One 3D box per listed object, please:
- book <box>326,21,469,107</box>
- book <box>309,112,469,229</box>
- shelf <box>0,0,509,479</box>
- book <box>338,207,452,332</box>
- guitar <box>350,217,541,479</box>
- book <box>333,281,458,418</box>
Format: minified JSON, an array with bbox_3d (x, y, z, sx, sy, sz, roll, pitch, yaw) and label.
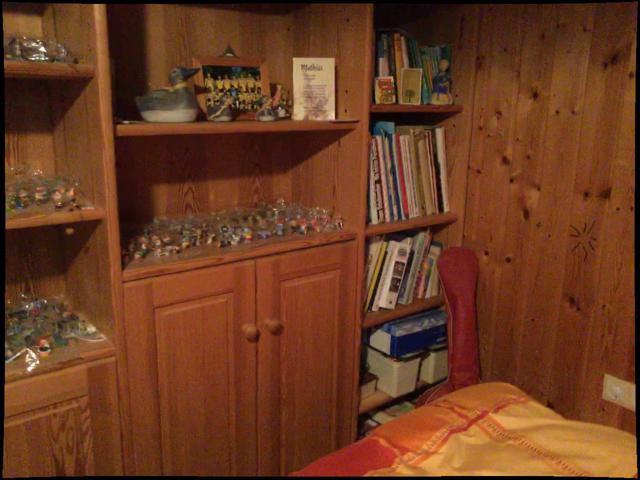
[{"bbox_3d":[0.250,-0.571,1.880,0.400,0.240,0.240,-13,21,-36],"label":"book"},{"bbox_3d":[0.230,-0.250,1.920,0.480,0.300,0.250,-13,21,-36],"label":"book"},{"bbox_3d":[-0.360,-0.030,1.600,1.999,2.132,0.520,-13,21,-36],"label":"shelf"},{"bbox_3d":[0.260,0.090,2.010,0.370,0.330,0.170,-13,21,-36],"label":"book"},{"bbox_3d":[0.400,0.460,1.970,0.430,0.961,0.390,-13,21,-36],"label":"guitar"},{"bbox_3d":[0.270,0.380,2.110,0.350,0.330,0.270,-13,21,-36],"label":"book"}]
